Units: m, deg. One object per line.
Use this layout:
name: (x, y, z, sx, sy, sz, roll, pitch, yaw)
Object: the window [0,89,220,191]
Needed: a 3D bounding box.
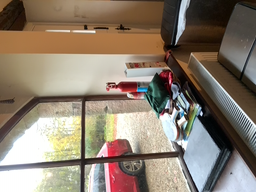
window: (-0.200, 0.620, 0.740, 2.350, 1.360, 0.100, -108, 20, -56)
